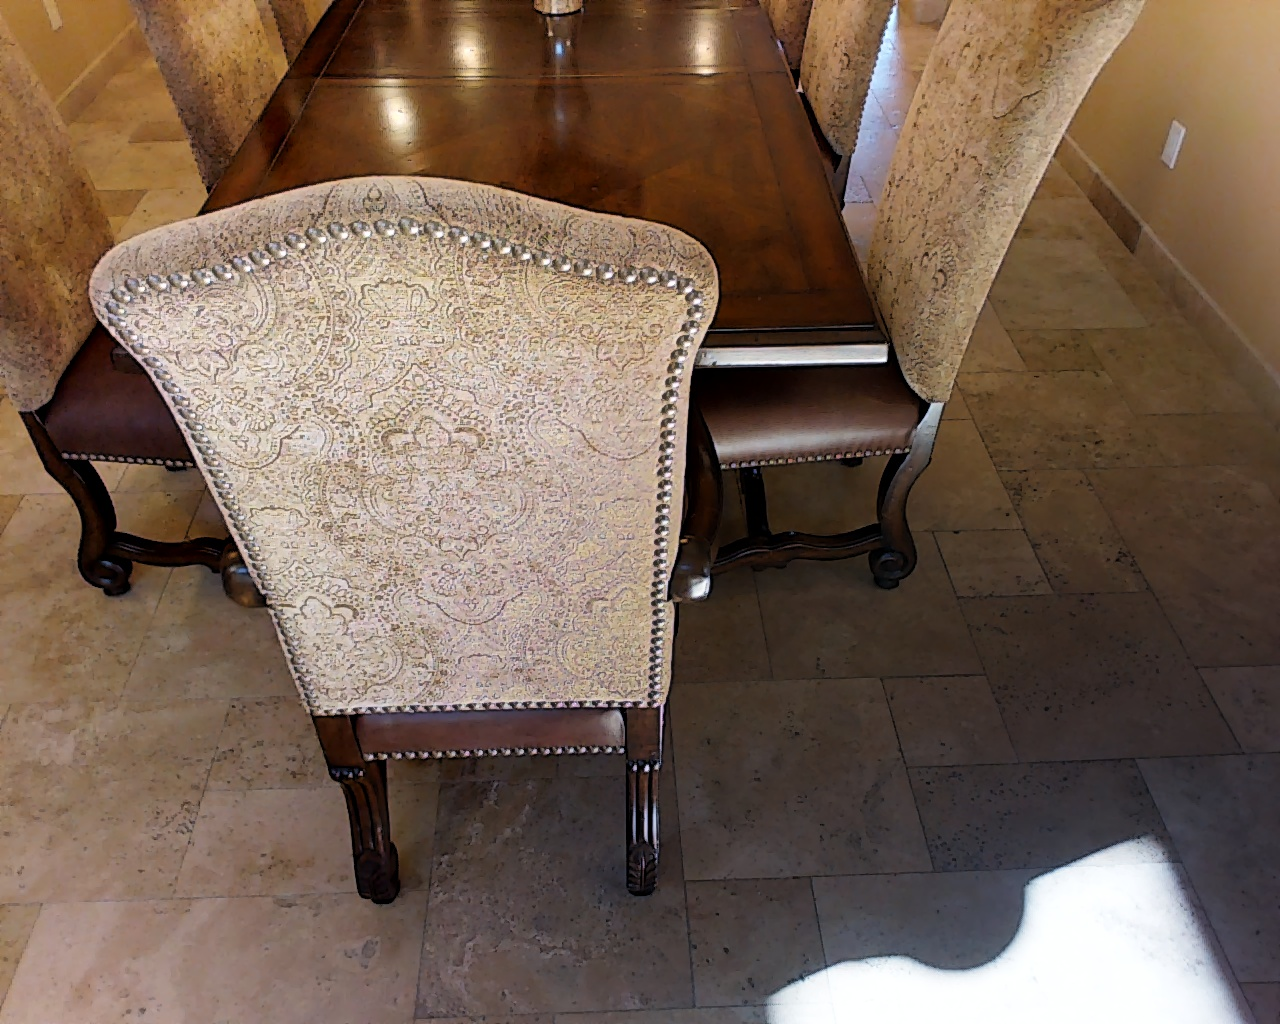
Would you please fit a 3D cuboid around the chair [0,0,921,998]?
[{"bbox_3d":[-0.170,-0.020,1.440,0.690,1.220,0.760,-3,42,-3],"label":"chair"}]

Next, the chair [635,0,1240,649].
[{"bbox_3d":[0.360,-0.470,1.960,0.700,1.210,0.810,-2,42,-2],"label":"chair"}]
